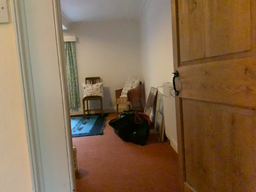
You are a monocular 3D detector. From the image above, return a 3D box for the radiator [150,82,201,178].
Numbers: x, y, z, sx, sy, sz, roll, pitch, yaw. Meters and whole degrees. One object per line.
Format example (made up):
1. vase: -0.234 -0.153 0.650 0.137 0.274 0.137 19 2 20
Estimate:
1. radiator: 0.440 0.220 2.320 0.120 0.690 1.440 -3 6 -4
